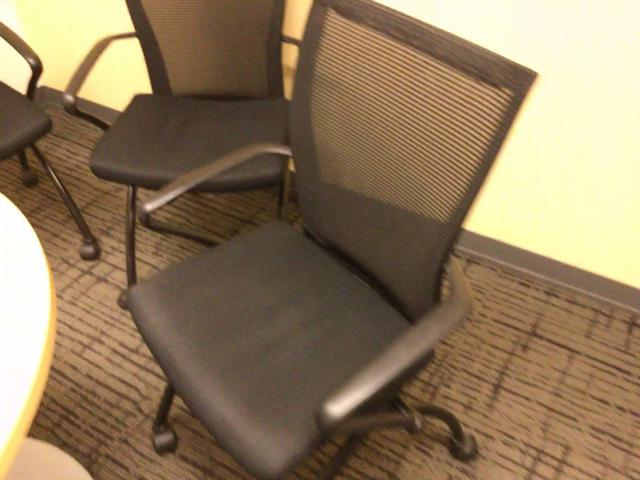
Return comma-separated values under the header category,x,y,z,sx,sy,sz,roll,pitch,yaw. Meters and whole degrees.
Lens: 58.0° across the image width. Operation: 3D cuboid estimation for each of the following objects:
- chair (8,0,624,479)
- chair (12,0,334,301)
category,x,y,z,sx,sy,sz,roll,pitch,yaw
chair,-0.040,0.090,1.080,0.580,0.870,0.640,-26,47,-28
chair,-0.280,-0.360,1.560,0.600,0.860,0.580,3,41,2
